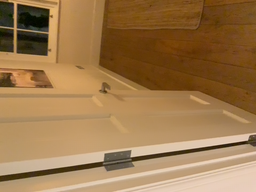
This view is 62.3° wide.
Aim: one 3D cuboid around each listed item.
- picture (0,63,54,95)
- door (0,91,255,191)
[{"bbox_3d":[-1.280,-0.200,2.120,0.980,0.890,0.080,35,120,58],"label":"picture"},{"bbox_3d":[-0.120,0.110,0.980,0.760,1.960,0.040,36,121,57],"label":"door"}]
